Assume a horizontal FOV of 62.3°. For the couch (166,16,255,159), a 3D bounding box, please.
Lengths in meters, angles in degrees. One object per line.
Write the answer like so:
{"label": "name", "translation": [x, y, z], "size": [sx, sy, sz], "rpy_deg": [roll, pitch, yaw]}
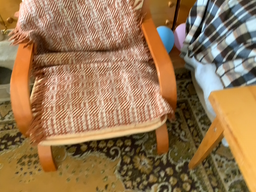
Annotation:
{"label": "couch", "translation": [0.600, -0.090, 1.250], "size": [0.510, 0.360, 0.730], "rpy_deg": [-8, 51, -7]}
